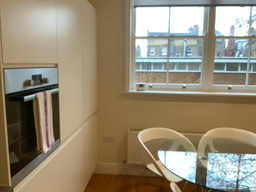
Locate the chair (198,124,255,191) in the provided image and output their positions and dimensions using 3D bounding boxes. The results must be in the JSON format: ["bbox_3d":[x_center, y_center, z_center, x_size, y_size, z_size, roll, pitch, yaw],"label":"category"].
[{"bbox_3d":[1.180,0.790,2.400,0.550,0.770,0.470,-6,11,-37],"label":"chair"}]
